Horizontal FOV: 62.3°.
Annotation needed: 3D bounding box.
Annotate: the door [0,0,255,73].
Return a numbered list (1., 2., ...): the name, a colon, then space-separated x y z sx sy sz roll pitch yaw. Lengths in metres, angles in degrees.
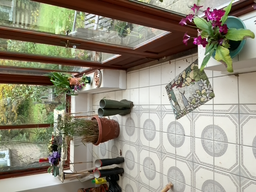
1. door: 0.350 -0.420 0.210 6.960 2.110 0.130 2 91 59
